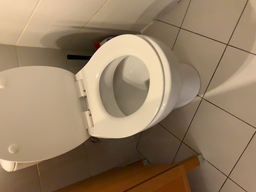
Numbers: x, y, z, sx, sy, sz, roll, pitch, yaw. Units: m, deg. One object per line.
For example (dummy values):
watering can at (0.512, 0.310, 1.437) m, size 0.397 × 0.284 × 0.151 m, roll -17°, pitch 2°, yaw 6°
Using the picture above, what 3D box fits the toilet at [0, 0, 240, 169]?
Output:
toilet at (-0.090, -0.010, 0.880) m, size 0.700 × 0.760 × 0.370 m, roll -23°, pitch 78°, yaw 45°
